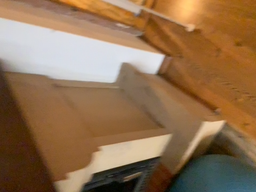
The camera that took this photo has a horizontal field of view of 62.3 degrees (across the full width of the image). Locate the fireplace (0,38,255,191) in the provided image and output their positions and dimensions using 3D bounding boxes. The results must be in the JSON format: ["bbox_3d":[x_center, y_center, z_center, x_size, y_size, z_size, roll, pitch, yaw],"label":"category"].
[{"bbox_3d":[-0.200,0.540,1.210,0.720,1.180,1.350,42,119,39],"label":"fireplace"}]
